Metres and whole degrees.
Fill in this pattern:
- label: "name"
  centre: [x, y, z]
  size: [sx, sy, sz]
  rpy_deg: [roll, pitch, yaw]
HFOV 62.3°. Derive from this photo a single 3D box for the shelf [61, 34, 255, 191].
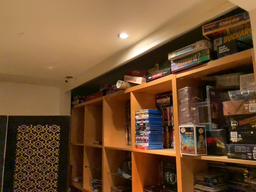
- label: "shelf"
  centre: [0.070, 0.970, 1.820]
  size: [0.520, 2.080, 2.440]
  rpy_deg: [6, -12, -35]
